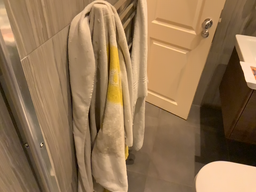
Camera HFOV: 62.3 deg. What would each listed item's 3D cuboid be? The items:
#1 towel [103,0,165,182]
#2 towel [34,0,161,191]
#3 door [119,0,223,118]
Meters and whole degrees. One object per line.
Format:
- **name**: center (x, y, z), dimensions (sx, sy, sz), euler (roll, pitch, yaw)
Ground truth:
- **towel**: center (0.020, -0.030, 1.210), dimensions (0.180, 1.220, 0.400), euler (12, 40, 9)
- **towel**: center (-0.080, 0.200, 0.880), dimensions (0.230, 1.180, 0.260), euler (12, 40, 9)
- **door**: center (0.290, -0.690, 1.550), dimensions (0.730, 1.960, 0.050), euler (23, 43, 21)
